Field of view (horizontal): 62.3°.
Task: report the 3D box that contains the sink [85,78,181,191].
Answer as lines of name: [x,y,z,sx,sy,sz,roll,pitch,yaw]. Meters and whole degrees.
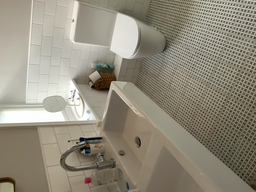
sink: [-0.030,0.240,1.230,0.560,0.200,0.500,44,126,50]

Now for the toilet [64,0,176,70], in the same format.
toilet: [-0.100,-0.570,2.010,0.610,0.810,0.390,45,127,49]
